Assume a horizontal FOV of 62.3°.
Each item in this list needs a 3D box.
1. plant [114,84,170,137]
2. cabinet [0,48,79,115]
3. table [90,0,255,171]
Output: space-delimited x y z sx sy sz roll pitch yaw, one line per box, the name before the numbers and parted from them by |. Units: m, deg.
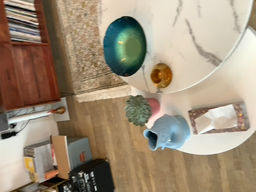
plant | 0.070 0.070 1.110 0.170 0.160 0.190 43 123 27
cabinet | -0.970 -0.140 2.100 0.530 0.680 0.530 -8 93 41
table | 0.290 -0.270 1.150 0.830 0.460 1.100 -6 94 41
